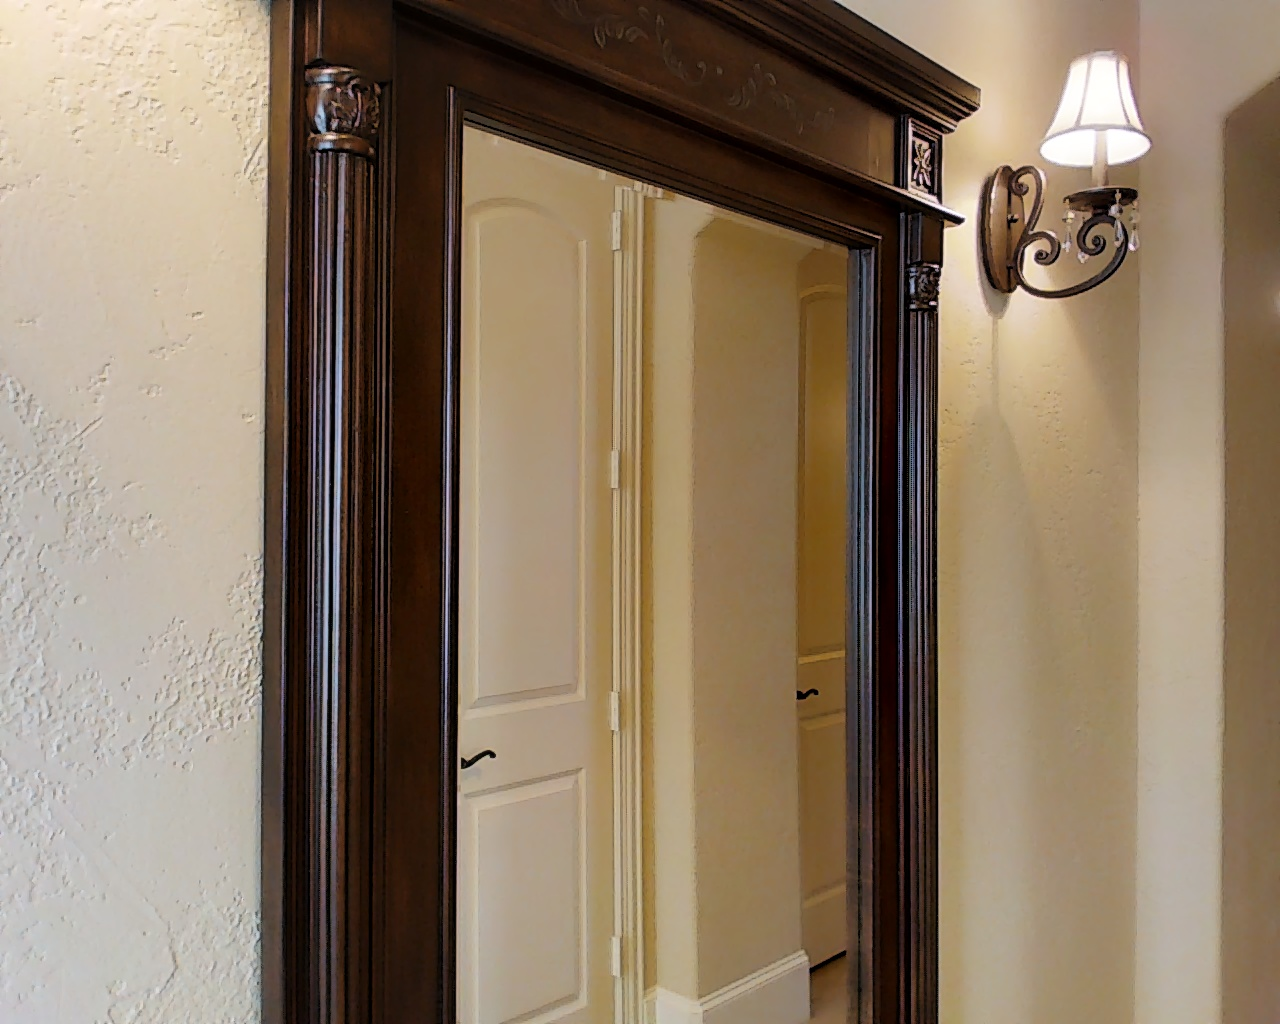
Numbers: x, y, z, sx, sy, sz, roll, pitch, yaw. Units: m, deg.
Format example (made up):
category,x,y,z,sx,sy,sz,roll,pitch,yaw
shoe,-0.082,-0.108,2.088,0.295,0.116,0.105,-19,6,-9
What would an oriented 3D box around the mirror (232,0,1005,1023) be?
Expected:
category,x,y,z,sx,sy,sz,roll,pitch,yaw
mirror,0.090,0.500,1.110,0.130,2.081,1.000,0,-1,44
